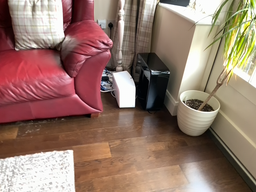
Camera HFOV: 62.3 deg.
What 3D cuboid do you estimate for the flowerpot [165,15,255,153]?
[{"bbox_3d":[0.550,-0.060,1.460,0.330,0.860,0.360,-4,35,-14],"label":"flowerpot"}]

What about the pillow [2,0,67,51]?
[{"bbox_3d":[-0.670,-0.550,1.590,0.370,0.360,0.220,-1,34,-11],"label":"pillow"}]
